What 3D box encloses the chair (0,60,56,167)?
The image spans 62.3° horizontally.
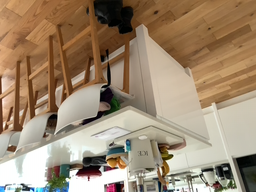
[{"bbox_3d":[-1.040,0.180,2.080,0.420,0.890,0.390,-23,148,30],"label":"chair"}]

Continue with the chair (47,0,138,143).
[{"bbox_3d":[-0.250,-0.170,1.560,0.380,0.890,0.430,-23,148,30],"label":"chair"}]
